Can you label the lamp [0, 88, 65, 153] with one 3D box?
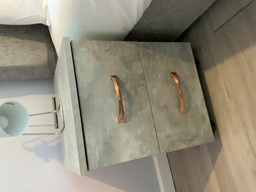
[{"bbox_3d":[-0.400,0.100,0.780,0.240,0.280,0.170,141,120,-63],"label":"lamp"}]
